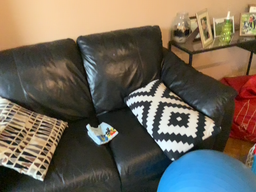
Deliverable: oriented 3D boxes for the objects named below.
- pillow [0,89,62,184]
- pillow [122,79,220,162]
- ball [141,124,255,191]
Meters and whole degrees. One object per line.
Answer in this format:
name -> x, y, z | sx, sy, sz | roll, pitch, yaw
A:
pillow -> -0.600, 0.220, 1.190 | 0.420, 0.120, 0.490 | -42, 21, 8
pillow -> 0.230, 0.110, 1.370 | 0.370, 0.150, 0.580 | -13, 31, -15
ball -> 0.400, 0.540, 1.050 | 0.520, 0.500, 0.500 | -11, 31, -12
